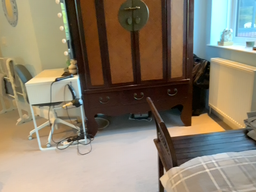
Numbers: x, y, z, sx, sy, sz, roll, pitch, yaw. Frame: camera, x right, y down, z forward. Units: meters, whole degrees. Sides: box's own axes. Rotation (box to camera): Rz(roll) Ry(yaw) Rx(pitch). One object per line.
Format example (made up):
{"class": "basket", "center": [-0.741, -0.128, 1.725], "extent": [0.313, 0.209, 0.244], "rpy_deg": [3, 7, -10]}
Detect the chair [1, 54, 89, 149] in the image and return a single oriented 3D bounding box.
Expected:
{"class": "chair", "center": [-0.890, 0.020, 2.500], "extent": [0.710, 0.880, 0.600], "rpy_deg": [-8, 19, -10]}

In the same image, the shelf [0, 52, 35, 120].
{"class": "shelf", "center": [-1.850, -0.180, 3.180], "extent": [0.850, 0.920, 0.240], "rpy_deg": [9, 23, 35]}
